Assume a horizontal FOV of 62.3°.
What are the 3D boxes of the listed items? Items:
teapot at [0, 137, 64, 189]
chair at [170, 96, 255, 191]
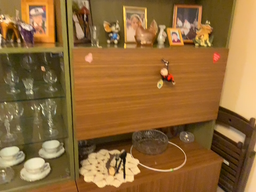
[{"bbox_3d":[-0.520,0.350,1.170,0.300,0.070,0.300,-4,19,-19],"label":"teapot"},{"bbox_3d":[0.630,0.500,1.620,0.210,0.830,0.630,-5,19,-23],"label":"chair"}]
